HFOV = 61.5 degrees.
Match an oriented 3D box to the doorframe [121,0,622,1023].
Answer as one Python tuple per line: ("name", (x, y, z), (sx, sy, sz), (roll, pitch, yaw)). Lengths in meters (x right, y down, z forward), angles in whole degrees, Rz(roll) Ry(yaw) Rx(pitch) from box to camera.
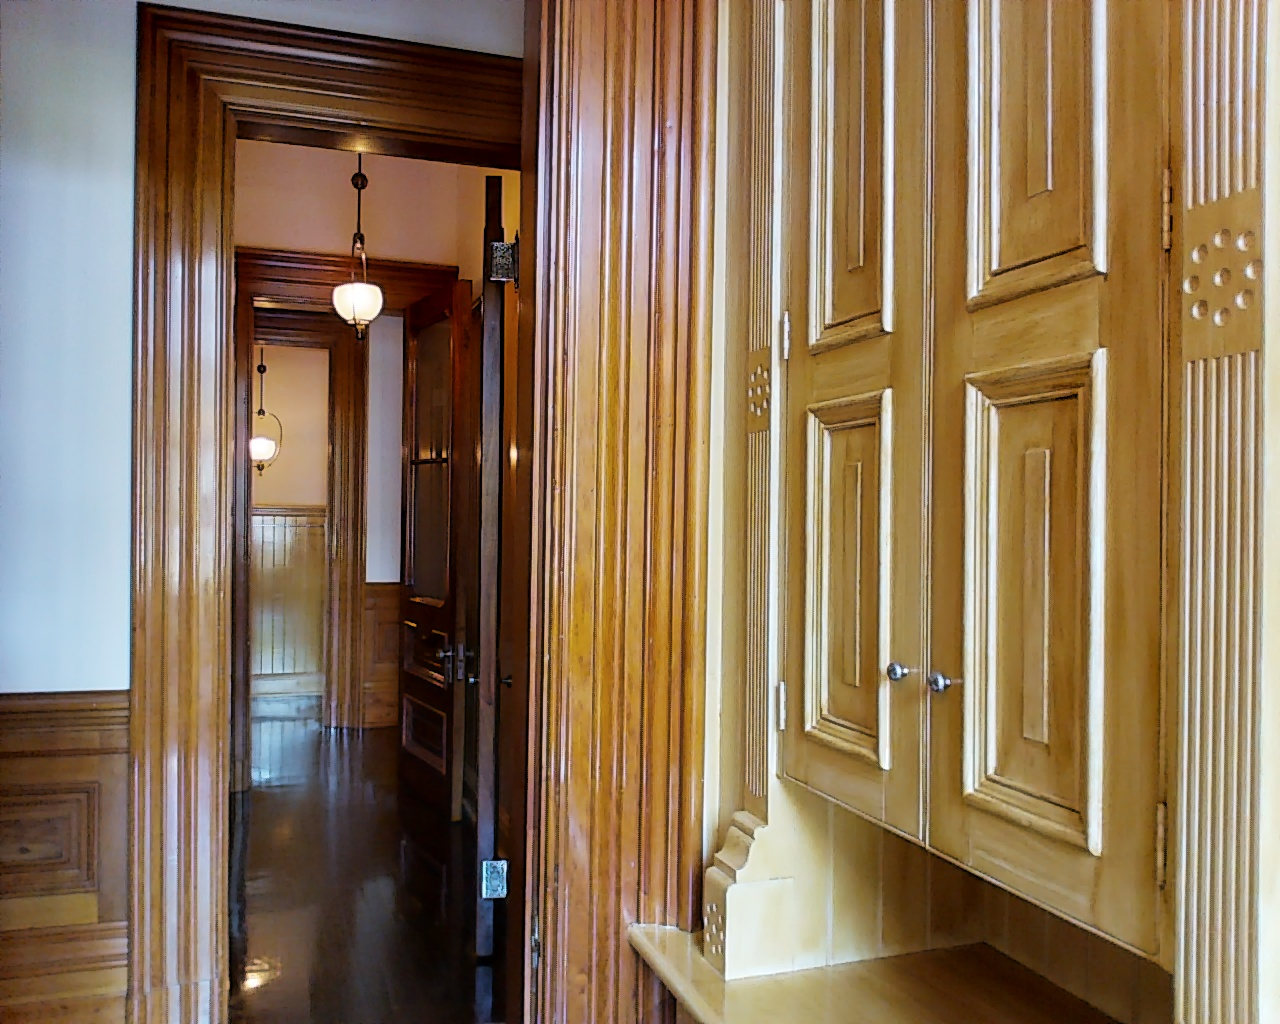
("doorframe", (-0.770, -0.080, 3.270), (1.420, 3.130, 0.160), (1, 0, -20))
